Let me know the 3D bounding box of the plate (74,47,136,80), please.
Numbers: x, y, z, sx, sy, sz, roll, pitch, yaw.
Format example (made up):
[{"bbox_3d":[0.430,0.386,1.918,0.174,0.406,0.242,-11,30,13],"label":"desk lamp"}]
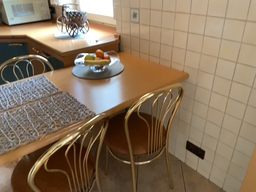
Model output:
[{"bbox_3d":[-0.160,-0.240,1.480,0.320,0.080,0.280,-23,36,-34],"label":"plate"}]

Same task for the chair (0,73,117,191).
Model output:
[{"bbox_3d":[-0.330,0.380,1.140,0.390,0.860,0.360,-24,37,-35],"label":"chair"}]

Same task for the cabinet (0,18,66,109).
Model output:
[{"bbox_3d":[-1.160,-0.430,2.580,0.430,0.860,0.820,1,29,4],"label":"cabinet"}]
